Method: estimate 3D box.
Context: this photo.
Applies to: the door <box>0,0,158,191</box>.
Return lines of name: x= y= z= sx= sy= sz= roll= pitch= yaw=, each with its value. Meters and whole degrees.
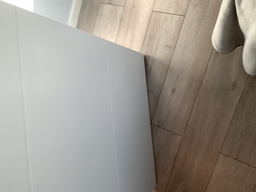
door: x=-0.330 y=0.150 z=0.350 sx=0.020 sy=1.960 sz=0.730 roll=-7 pitch=89 yaw=28
